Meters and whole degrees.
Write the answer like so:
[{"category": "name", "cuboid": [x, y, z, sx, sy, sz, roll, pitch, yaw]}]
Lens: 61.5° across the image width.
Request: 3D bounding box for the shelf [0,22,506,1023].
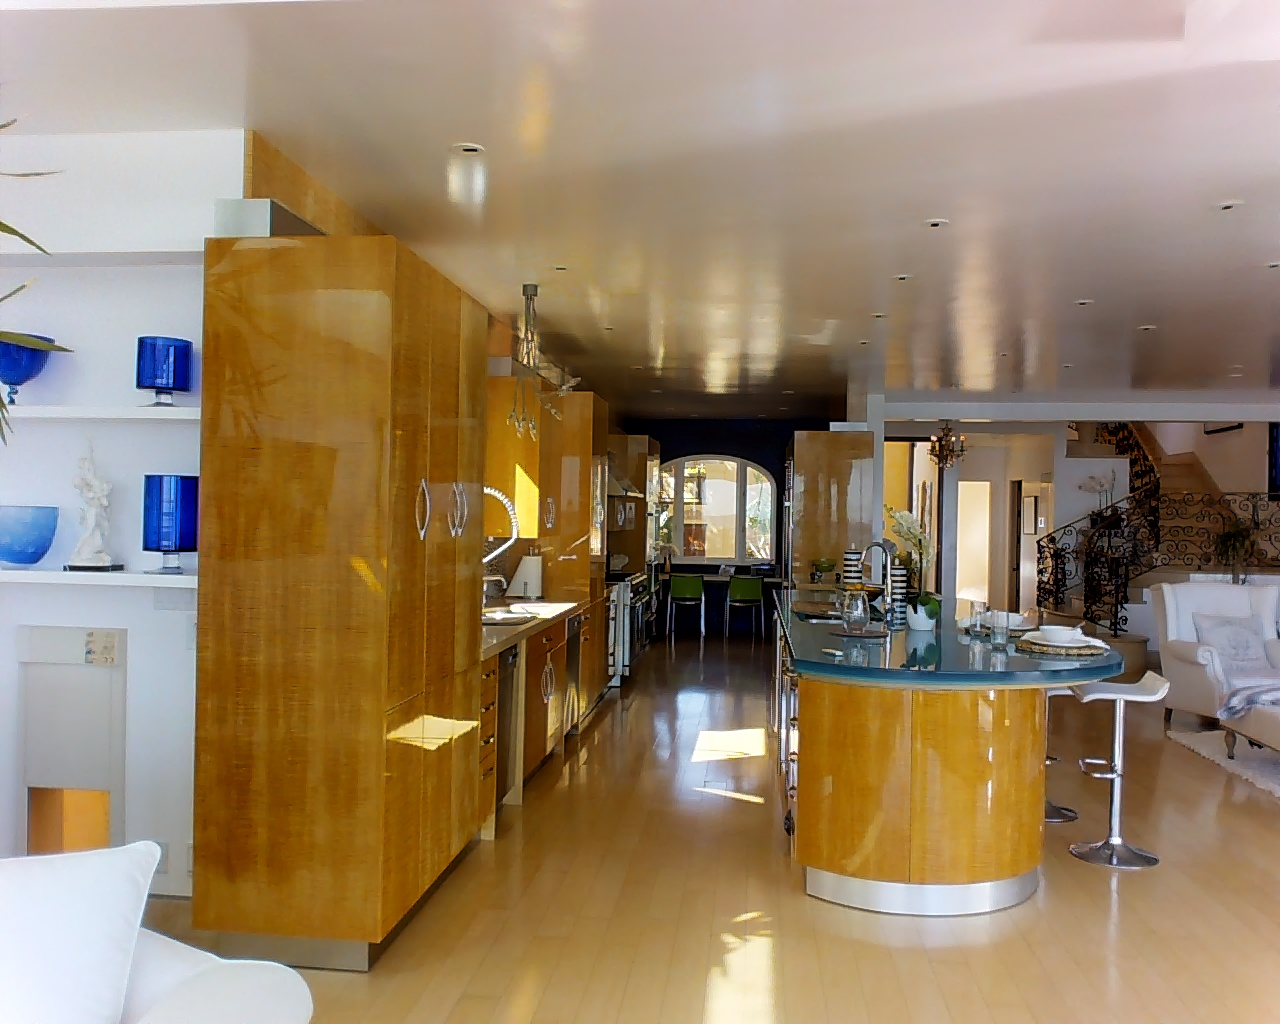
[{"category": "shelf", "cuboid": [-1.819, 0.070, 3.910, 2.299, 2.961, 1.460, 1, 0, 7]}]
